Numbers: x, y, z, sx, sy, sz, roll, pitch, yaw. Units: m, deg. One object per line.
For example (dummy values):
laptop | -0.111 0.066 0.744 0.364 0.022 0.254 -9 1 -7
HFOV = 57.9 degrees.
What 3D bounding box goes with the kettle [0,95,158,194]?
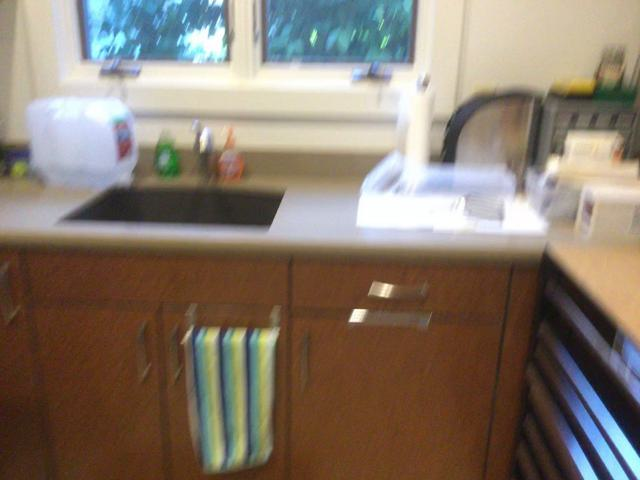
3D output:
kettle | -0.740 -0.300 1.760 0.400 0.250 0.280 2 18 1
